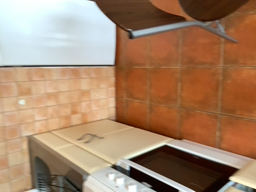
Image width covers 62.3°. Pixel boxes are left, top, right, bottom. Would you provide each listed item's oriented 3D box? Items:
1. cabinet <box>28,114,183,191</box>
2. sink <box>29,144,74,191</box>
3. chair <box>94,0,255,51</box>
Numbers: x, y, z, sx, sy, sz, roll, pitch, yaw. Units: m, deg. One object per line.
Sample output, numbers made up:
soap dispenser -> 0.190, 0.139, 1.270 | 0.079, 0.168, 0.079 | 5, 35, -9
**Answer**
cabinet -> -0.170, 0.570, 1.640 | 0.800, 0.850, 0.600 | 9, 103, 46
sink -> -0.560, 0.630, 1.550 | 0.390, 0.150, 0.430 | 9, 103, 46
chair -> 0.340, -0.510, 0.890 | 0.490, 0.890, 0.390 | -35, 71, 44
